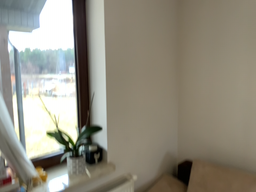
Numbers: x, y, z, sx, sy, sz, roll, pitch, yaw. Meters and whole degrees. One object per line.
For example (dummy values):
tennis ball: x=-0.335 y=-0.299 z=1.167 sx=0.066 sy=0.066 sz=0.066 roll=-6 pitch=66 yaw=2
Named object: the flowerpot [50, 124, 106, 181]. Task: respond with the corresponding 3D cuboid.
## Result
flowerpot: x=-0.380 y=0.410 z=1.630 sx=0.320 sy=0.290 sz=0.270 roll=-7 pitch=10 yaw=-42
